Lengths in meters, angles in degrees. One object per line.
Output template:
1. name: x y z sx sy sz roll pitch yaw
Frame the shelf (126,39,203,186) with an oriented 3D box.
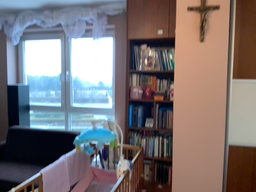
1. shelf: 0.430 0.180 2.600 0.830 1.640 0.340 2 5 14
